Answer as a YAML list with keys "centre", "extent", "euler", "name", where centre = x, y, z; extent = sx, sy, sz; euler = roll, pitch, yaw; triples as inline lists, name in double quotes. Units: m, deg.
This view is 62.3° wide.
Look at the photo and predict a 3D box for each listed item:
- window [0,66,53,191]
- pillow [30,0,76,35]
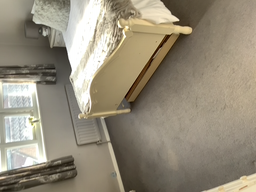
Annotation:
- centre: [-1.920, 0.420, 3.080]
  extent: [0.360, 1.280, 1.910]
  euler: [-53, 49, 48]
  name: "window"
- centre: [-1.080, -1.310, 2.990]
  extent: [0.660, 0.470, 0.490]
  euler: [-53, 49, 48]
  name: "pillow"
